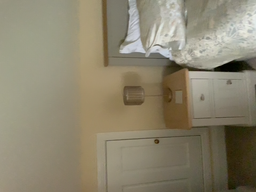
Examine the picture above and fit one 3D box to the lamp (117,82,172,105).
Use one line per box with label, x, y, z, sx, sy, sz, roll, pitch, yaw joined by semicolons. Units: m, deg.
lamp;0.130;-0.020;1.830;0.260;0.400;0.170;164;104;-75
